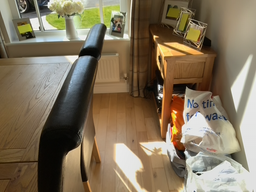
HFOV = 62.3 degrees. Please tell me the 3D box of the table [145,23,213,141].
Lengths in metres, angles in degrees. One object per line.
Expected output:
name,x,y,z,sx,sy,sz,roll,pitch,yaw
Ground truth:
table,0.380,-0.170,1.960,0.350,0.760,0.840,-2,33,-1
